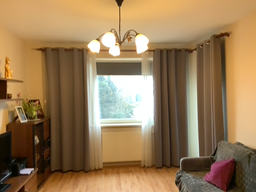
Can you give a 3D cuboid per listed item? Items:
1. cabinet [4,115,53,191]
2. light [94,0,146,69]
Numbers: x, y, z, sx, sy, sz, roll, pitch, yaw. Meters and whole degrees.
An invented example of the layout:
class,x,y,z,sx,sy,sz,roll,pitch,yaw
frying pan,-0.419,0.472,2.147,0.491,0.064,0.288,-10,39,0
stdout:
class,x,y,z,sx,sy,sz,roll,pitch,yaw
cabinet,-1.710,0.960,3.770,0.440,1.070,1.130,-1,-89,-6
light,-0.100,-0.770,2.590,0.510,0.620,0.750,5,-90,-3
